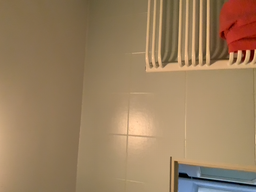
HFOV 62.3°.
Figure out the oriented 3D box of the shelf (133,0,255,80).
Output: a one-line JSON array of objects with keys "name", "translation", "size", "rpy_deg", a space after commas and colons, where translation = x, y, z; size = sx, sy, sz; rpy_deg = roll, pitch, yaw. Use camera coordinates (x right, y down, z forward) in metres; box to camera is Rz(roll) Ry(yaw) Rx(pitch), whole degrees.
[{"name": "shelf", "translation": [0.700, -0.450, 0.970], "size": [0.210, 1.330, 0.710], "rpy_deg": [15, -103, -69]}]
